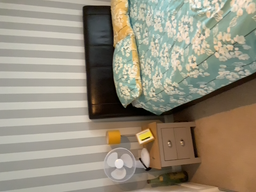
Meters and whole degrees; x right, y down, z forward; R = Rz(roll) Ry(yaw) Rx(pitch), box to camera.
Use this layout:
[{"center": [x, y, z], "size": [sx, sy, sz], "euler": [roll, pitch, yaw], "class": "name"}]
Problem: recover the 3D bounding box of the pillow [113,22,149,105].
[{"center": [0.010, -0.310, 2.240], "size": [0.500, 0.170, 0.720], "euler": [140, 128, -67], "class": "pillow"}]
